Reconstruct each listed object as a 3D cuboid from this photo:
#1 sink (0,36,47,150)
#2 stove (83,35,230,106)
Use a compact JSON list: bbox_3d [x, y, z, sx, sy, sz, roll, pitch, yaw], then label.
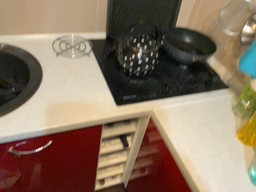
[{"bbox_3d":[-0.630,-0.030,0.880,0.490,0.180,0.520,-8,47,-22],"label":"sink"},{"bbox_3d":[0.130,-0.180,1.110,0.620,0.010,0.520,-8,47,-22],"label":"stove"}]
